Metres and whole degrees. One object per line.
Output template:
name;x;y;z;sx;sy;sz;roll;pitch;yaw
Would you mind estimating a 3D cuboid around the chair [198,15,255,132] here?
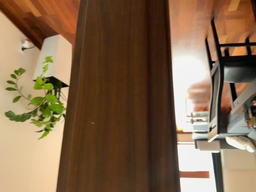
chair;0.980;-0.200;1.940;0.500;0.990;0.350;-2;159;8
